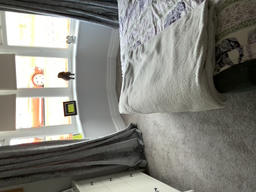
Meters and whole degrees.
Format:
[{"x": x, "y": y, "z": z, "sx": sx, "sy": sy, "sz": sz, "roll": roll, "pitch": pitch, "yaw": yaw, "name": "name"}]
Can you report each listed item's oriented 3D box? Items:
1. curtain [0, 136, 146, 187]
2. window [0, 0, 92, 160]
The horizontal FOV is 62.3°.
[{"x": -0.820, "y": 0.750, "z": 2.460, "sx": 0.140, "sy": 2.260, "sz": 0.330, "roll": 151, "pitch": 115, "yaw": -61, "name": "curtain"}, {"x": -1.440, "y": -0.270, "z": 3.000, "sx": 0.670, "sy": 1.640, "sz": 2.080, "roll": 175, "pitch": 94, "yaw": -64, "name": "window"}]
